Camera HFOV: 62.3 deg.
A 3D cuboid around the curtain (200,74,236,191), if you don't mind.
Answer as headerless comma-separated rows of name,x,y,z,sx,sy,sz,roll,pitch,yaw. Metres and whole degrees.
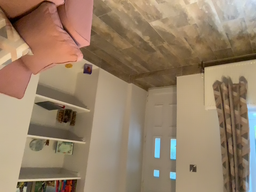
curtain,1.100,0.730,2.600,0.350,1.980,0.290,-3,163,28
